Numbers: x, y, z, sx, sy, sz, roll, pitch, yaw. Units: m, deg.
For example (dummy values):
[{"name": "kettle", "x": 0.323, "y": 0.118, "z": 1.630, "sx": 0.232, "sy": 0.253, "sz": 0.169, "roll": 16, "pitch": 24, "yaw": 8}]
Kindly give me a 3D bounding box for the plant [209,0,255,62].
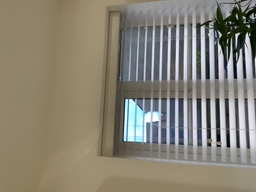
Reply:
[{"name": "plant", "x": 0.580, "y": -0.330, "z": 0.910, "sx": 0.250, "sy": 0.400, "sz": 0.280, "roll": 37, "pitch": -126, "yaw": -74}]
